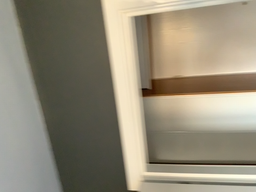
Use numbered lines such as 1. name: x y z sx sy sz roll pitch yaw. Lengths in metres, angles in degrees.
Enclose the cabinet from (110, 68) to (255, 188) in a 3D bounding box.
1. cabinet: 1.110 0.320 2.270 0.670 2.370 1.040 -65 -31 -66
